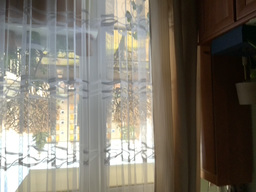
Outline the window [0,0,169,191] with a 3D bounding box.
[{"bbox_3d":[-0.450,0.230,1.530,1.540,1.800,0.160,0,178,-16],"label":"window"}]
